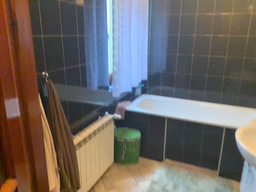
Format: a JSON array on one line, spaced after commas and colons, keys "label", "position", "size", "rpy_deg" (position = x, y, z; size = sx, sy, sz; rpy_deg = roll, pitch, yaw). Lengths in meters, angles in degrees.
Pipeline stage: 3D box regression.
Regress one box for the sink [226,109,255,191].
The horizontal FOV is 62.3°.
[{"label": "sink", "position": [1.000, 0.360, 1.560], "size": [0.470, 0.200, 0.850], "rpy_deg": [8, 19, 22]}]
